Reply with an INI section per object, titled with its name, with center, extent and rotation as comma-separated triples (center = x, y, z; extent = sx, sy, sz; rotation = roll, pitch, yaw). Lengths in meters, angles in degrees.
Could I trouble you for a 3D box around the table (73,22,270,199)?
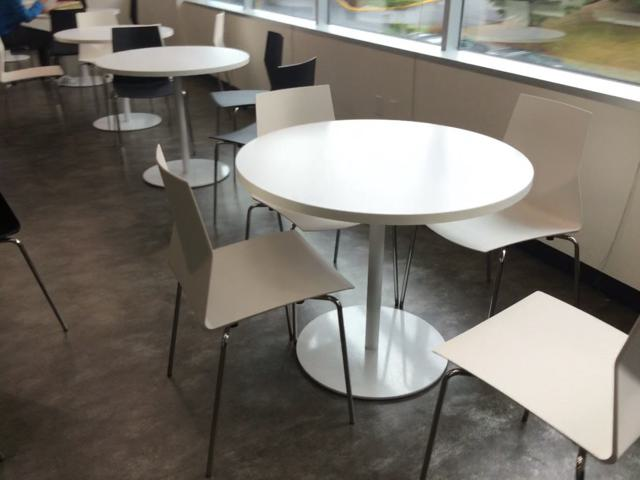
[table]
center = -0.930, -0.870, 3.630
extent = 0.930, 0.800, 0.920
rotation = -12, 31, -25
